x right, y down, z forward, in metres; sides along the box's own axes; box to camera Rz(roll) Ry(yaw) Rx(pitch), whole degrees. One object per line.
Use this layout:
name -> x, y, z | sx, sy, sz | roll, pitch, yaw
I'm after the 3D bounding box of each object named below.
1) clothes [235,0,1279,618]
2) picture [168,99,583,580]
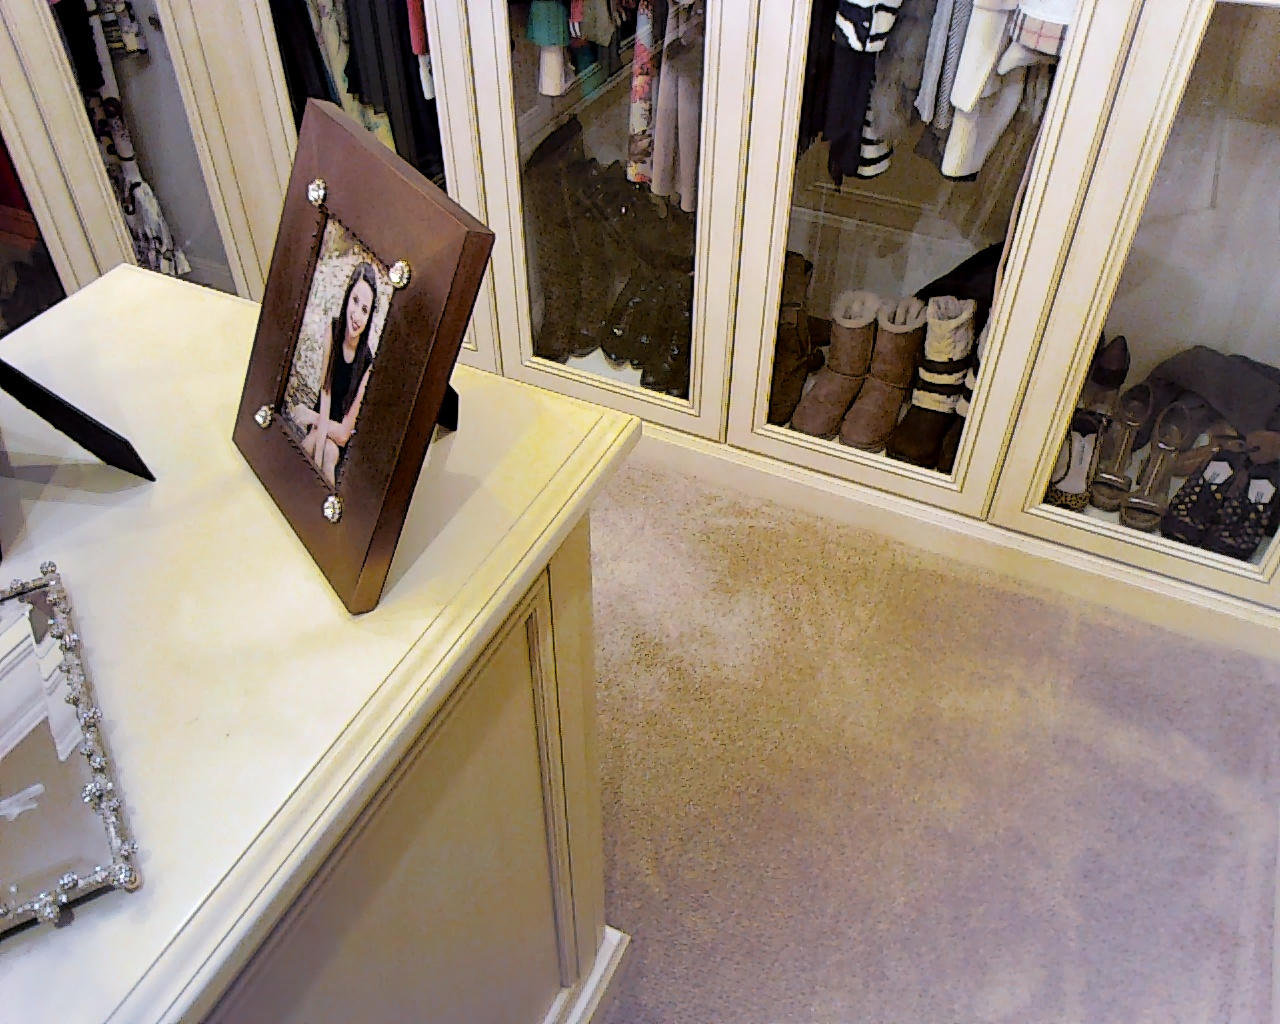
clothes -> 0.300, -1.100, 1.820 | 2.140, 2.190, 0.620 | 17, 45, 18
picture -> -0.190, -0.120, 0.750 | 0.060, 0.300, 0.260 | -38, 30, -18
